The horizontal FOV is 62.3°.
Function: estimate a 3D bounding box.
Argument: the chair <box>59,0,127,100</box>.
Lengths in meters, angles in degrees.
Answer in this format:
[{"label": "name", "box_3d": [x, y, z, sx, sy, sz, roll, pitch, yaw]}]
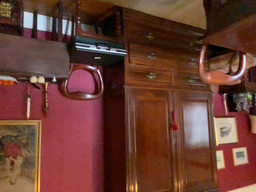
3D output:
[{"label": "chair", "box_3d": [-0.380, -0.440, 2.140, 0.500, 0.900, 0.590, 2, 173, -29]}]

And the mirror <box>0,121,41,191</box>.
[{"label": "mirror", "box_3d": [-1.130, 0.640, 1.900, 0.630, 0.810, 0.020, 2, 173, -29]}]

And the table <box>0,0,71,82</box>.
[{"label": "table", "box_3d": [-1.080, -0.550, 1.860, 1.060, 0.730, 0.370, 2, 173, -30]}]
